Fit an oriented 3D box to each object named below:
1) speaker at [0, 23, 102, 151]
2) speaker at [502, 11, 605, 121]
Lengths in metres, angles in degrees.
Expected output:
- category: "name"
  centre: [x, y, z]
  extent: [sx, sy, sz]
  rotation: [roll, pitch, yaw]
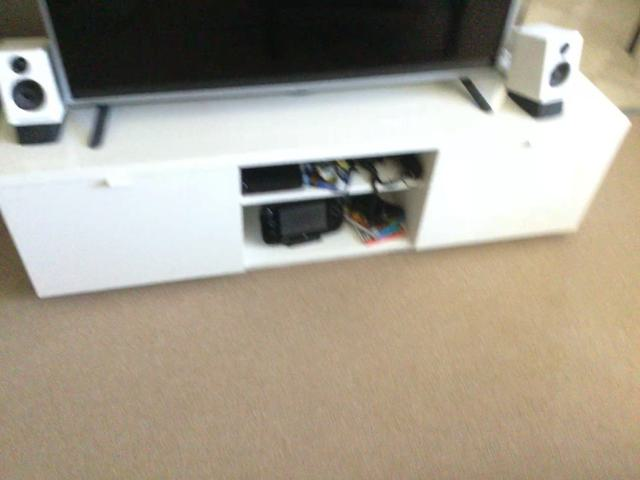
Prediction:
- category: "speaker"
  centre: [-0.620, -0.350, 1.320]
  extent: [0.170, 0.200, 0.190]
  rotation: [-8, 45, -7]
- category: "speaker"
  centre: [0.590, -0.450, 1.490]
  extent: [0.130, 0.190, 0.200]
  rotation: [-8, 45, -7]
